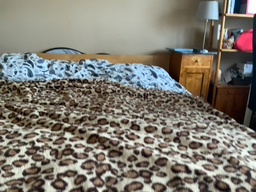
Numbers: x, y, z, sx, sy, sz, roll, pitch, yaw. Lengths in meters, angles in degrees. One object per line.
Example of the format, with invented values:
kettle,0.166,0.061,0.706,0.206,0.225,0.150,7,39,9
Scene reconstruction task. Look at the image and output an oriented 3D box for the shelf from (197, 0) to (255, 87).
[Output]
shelf,1.430,-0.810,2.350,1.020,1.360,0.410,1,16,-5
